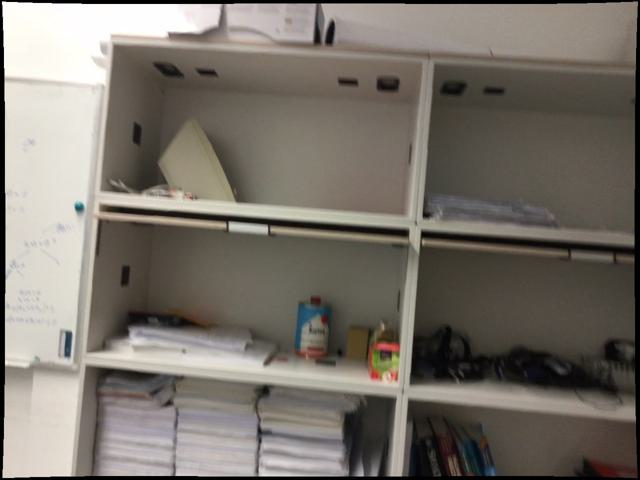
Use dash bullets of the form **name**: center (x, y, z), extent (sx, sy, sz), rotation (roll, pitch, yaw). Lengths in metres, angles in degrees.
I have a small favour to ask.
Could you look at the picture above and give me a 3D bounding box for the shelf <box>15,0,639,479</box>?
- **shelf**: center (0.170, 0.521, 1.540), extent (1.698, 2.252, 0.560), rotation (4, 0, 5)
